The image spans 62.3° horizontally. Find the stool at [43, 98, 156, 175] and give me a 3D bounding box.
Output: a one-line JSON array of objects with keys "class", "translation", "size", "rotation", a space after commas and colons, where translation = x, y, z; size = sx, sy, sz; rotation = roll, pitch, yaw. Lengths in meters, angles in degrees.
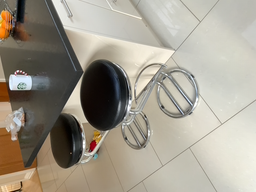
[{"class": "stool", "translation": [-0.210, 0.280, 1.660], "size": [0.360, 0.710, 0.360], "rotation": [-50, 57, 37]}]

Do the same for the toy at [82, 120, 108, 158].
[{"class": "toy", "translation": [-0.380, 0.470, 2.360], "size": [0.310, 0.080, 0.280], "rotation": [36, 117, 41]}]

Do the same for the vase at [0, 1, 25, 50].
[{"class": "vase", "translation": [-0.830, -0.490, 1.490], "size": [0.220, 0.100, 0.230], "rotation": [55, 128, 31]}]

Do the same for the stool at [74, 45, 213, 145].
[{"class": "stool", "translation": [0.110, -0.010, 1.310], "size": [0.360, 0.710, 0.360], "rotation": [-51, 56, 36]}]
